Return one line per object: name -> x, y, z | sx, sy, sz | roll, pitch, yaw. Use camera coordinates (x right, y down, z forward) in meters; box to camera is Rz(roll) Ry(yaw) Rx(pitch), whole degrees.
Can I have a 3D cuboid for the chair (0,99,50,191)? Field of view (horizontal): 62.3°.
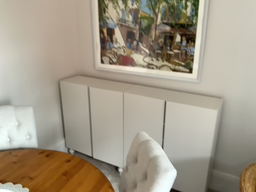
chair -> -0.770, 0.570, 1.450 | 0.380, 0.940, 0.540 | -7, 21, -21
